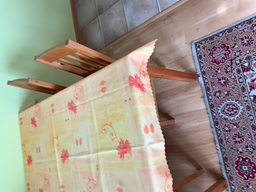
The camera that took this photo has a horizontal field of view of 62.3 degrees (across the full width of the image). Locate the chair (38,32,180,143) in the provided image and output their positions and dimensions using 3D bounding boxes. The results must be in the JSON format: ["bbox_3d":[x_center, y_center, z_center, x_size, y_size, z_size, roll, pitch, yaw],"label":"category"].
[{"bbox_3d":[-0.070,-0.020,1.390,0.390,0.850,0.500,-8,84,42],"label":"chair"}]

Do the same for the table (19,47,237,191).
[{"bbox_3d":[-0.090,0.330,1.470,1.190,0.760,0.790,-19,77,41],"label":"table"}]
